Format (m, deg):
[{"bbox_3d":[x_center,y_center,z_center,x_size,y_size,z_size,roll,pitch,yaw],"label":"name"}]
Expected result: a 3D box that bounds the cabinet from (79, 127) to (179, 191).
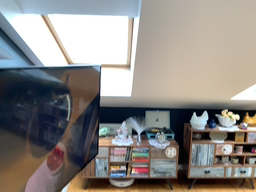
[{"bbox_3d":[0.000,0.830,2.900,1.200,0.630,0.590,1,10,-2],"label":"cabinet"}]
